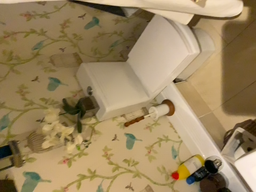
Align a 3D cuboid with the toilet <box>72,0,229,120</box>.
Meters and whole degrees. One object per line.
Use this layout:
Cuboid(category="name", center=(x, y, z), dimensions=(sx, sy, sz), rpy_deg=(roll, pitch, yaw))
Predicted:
Cuboid(category="toilet", center=(0.140, -0.260, 1.430), dimensions=(0.410, 0.780, 0.600), rpy_deg=(58, 137, 20))
